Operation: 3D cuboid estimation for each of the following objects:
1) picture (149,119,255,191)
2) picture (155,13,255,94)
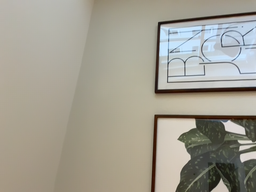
[{"bbox_3d":[0.460,0.350,0.960,0.040,0.720,0.510,61,-149,-59],"label":"picture"},{"bbox_3d":[0.520,-0.250,1.210,0.030,0.710,0.490,59,-147,-61],"label":"picture"}]
